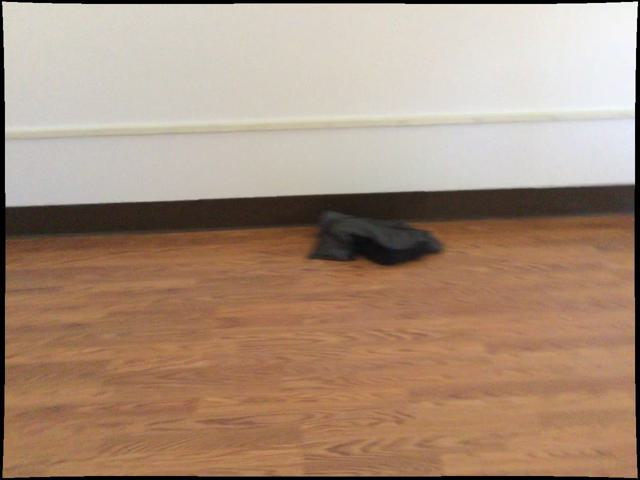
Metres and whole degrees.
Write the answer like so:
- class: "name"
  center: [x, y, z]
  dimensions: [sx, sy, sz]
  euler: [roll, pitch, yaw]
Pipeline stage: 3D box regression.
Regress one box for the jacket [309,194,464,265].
- class: "jacket"
  center: [0.250, -0.050, 2.360]
  dimensions: [0.579, 0.120, 0.330]
  euler: [-2, 31, -2]
